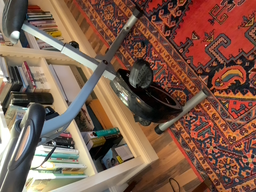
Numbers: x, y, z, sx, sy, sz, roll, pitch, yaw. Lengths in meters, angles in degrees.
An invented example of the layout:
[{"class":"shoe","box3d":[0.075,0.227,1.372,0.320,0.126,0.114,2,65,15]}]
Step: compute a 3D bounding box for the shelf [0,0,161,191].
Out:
[{"class":"shelf","box3d":[-1.130,-0.170,1.060,0.400,2.230,1.990,-48,62,33]}]
